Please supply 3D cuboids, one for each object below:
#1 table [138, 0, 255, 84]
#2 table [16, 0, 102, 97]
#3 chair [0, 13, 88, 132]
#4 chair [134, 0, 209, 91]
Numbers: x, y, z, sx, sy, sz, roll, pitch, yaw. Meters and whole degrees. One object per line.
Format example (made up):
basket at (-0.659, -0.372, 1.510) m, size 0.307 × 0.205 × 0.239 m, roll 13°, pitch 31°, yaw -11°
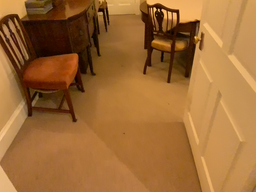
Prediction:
table at (1.320, -0.870, 2.850) m, size 2.360 × 0.730 × 1.380 m, roll -1°, pitch 37°, yaw 3°
table at (-0.720, -0.740, 2.710) m, size 0.560 × 0.820 × 1.390 m, roll -1°, pitch 37°, yaw 1°
chair at (-0.740, -0.200, 1.920) m, size 0.540 × 0.910 × 0.540 m, roll -1°, pitch 37°, yaw 1°
chair at (0.470, -0.630, 2.500) m, size 0.570 × 0.840 × 0.550 m, roll 29°, pitch 47°, yaw 34°
